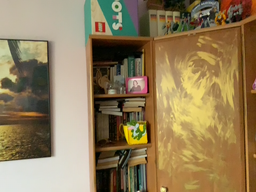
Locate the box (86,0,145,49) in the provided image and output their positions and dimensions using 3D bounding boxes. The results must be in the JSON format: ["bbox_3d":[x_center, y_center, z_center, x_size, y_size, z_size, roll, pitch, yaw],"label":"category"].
[{"bbox_3d":[-0.100,-0.530,1.420,0.320,0.350,0.310,-2,1,-18],"label":"box"}]
